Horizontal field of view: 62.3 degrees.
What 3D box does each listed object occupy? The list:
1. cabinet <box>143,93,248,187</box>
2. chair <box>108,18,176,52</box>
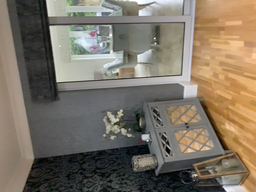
[{"bbox_3d":[0.690,0.480,2.440,0.460,0.810,0.860,102,161,-55],"label":"cabinet"},{"bbox_3d":[0.220,-1.110,3.800,0.630,1.070,0.530,-123,31,-69],"label":"chair"}]
